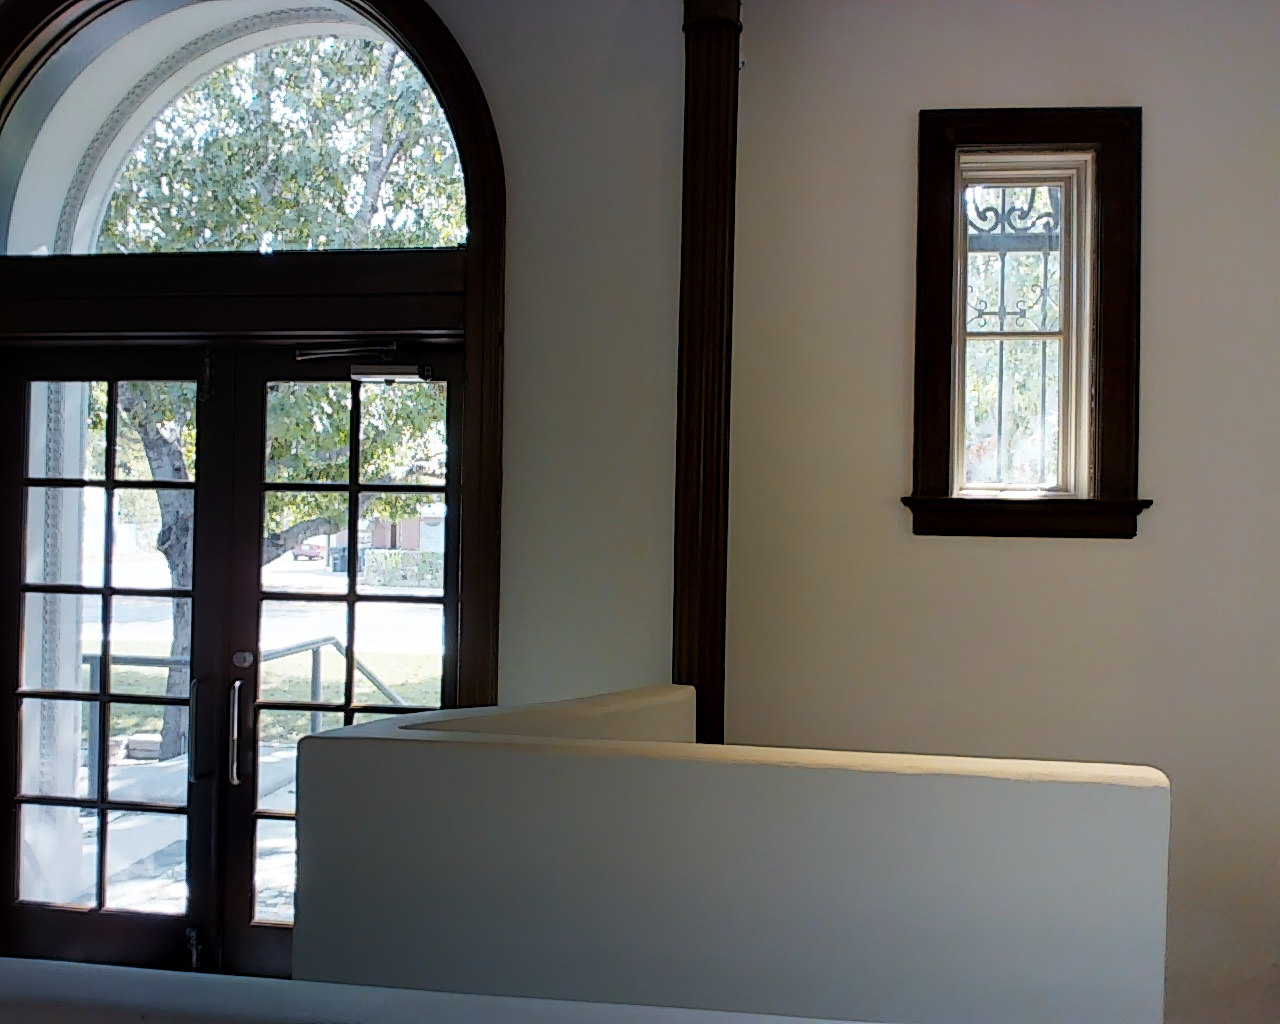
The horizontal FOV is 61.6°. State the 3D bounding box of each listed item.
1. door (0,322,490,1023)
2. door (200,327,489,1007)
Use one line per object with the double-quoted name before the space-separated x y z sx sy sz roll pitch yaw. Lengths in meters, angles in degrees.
"door" -1.300 0.450 3.310 1.620 2.030 0.200 1 -1 7
"door" -0.920 0.460 3.330 0.870 2.060 0.050 1 -1 7
